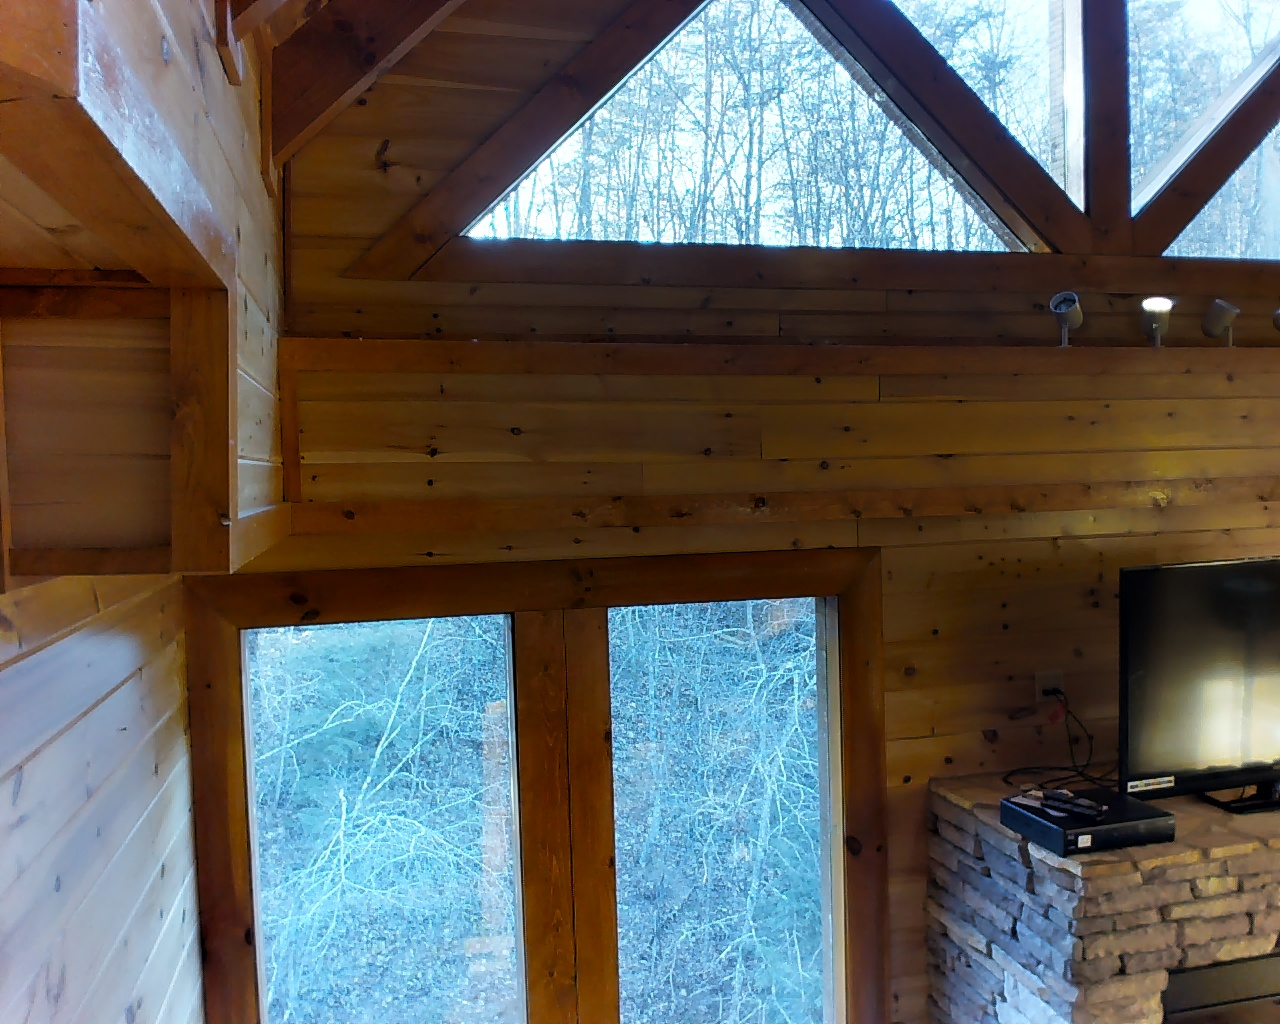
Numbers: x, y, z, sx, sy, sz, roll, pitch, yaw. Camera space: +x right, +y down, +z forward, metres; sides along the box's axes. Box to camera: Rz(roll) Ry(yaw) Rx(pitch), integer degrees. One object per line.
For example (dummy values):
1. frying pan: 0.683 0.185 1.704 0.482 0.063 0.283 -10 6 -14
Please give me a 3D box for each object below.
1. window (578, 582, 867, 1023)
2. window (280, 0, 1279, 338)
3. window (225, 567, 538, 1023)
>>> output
1. window: 0.300 1.270 3.880 0.960 1.971 0.310 -2 3 -14
2. window: 1.589 -1.821 3.910 5.518 2.341 0.130 -2 3 -14
3. window: -0.820 1.240 3.560 0.900 2.051 0.420 -2 3 -11
